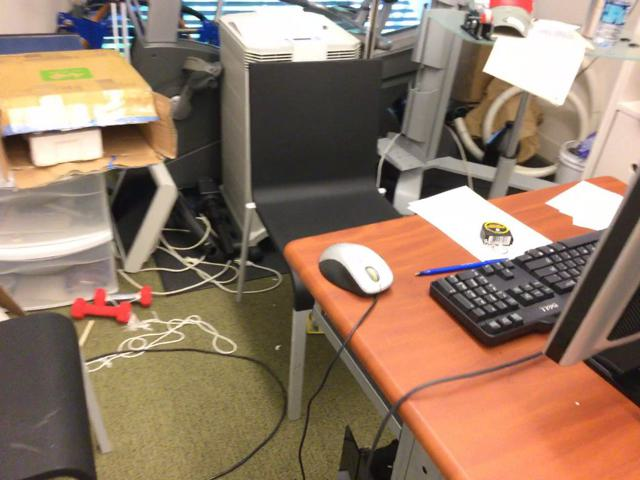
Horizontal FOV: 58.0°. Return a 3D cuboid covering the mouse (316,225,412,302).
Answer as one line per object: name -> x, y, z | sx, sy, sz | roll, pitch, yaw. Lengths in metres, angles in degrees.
mouse -> 0.060, 0.030, 0.830 | 0.090, 0.040, 0.120 | -9, 33, -21

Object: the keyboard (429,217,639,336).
keyboard -> 0.370, 0.040, 0.840 | 0.420, 0.040, 0.120 | -10, 33, -23

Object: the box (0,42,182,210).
box -> -0.720, -0.360, 1.660 | 0.480, 0.270, 0.550 | -12, 34, -25

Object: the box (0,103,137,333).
box -> -0.860, -0.090, 1.800 | 0.450, 0.510, 0.480 | -9, 33, -21

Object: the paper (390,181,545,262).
paper -> 0.250, -0.040, 1.000 | 0.160, 0.020, 0.210 | -14, 35, -28

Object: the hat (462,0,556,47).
hat -> 0.510, -0.630, 1.580 | 0.170, 0.140, 0.230 | 3, 30, -1
